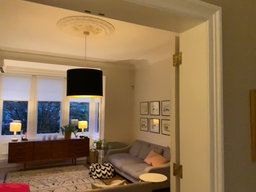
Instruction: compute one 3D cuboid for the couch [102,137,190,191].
[{"bbox_3d":[0.290,1.520,5.020,1.090,0.750,2.140,3,-4,-27],"label":"couch"}]
